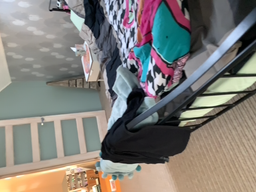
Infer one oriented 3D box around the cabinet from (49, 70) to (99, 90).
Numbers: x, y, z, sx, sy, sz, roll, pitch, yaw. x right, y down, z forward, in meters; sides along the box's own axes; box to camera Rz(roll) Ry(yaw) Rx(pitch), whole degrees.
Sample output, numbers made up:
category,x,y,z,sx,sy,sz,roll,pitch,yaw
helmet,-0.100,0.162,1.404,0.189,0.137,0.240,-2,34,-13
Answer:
category,x,y,z,sx,sy,sz,roll,pitch,yaw
cabinet,-1.020,-0.310,4.050,0.220,0.880,0.300,-139,49,-58
